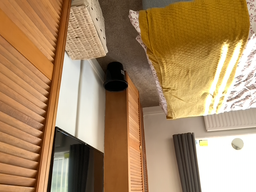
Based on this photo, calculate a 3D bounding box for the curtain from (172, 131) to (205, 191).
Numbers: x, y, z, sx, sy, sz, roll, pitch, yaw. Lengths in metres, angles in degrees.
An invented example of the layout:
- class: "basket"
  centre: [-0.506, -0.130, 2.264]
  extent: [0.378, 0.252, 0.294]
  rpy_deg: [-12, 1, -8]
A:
- class: "curtain"
  centre: [0.890, 1.490, 2.880]
  extent: [0.330, 1.970, 0.250]
  rpy_deg: [-7, 154, 10]
